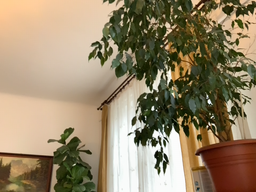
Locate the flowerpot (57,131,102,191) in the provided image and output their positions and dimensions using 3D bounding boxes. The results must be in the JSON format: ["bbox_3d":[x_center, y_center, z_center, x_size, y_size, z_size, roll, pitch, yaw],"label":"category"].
[{"bbox_3d":[-0.840,1.460,3.540,0.620,1.540,0.890,6,-25,-16],"label":"flowerpot"}]

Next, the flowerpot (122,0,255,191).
[{"bbox_3d":[0.450,-0.170,1.160,0.780,1.300,0.630,7,-26,-20],"label":"flowerpot"}]
